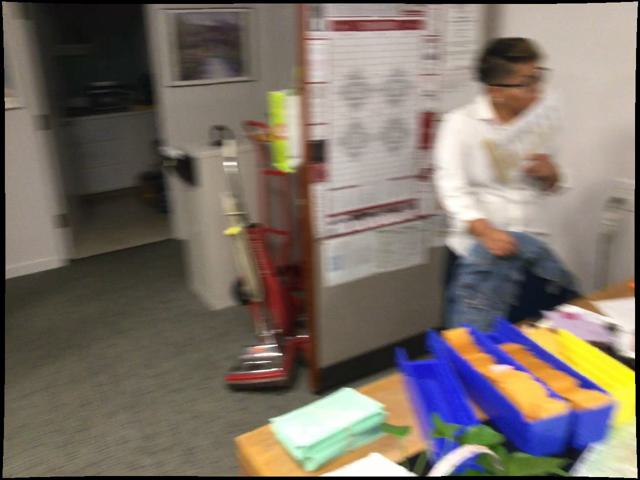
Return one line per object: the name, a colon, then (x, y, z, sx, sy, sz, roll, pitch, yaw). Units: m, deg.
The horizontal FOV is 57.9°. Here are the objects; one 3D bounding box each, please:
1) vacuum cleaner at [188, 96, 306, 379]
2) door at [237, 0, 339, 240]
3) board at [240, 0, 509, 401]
vacuum cleaner: (-0.320, 0.020, 2.830, 0.420, 1.281, 0.530, 4, 34, 1)
door: (-0.270, -1.111, 4.470, 0.150, 2.072, 0.990, -16, 22, -26)
board: (0.340, -0.260, 2.630, 1.149, 1.691, 0.270, -16, 22, -26)
